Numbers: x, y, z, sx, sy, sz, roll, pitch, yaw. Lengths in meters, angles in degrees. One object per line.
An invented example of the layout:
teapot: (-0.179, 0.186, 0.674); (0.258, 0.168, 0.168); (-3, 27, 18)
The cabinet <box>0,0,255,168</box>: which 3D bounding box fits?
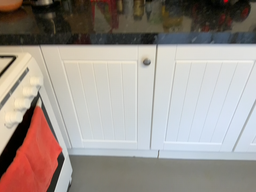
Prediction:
cabinet: (0.100, -0.090, 1.350); (2.060, 0.920, 0.610); (1, 40, 3)
